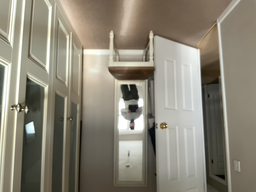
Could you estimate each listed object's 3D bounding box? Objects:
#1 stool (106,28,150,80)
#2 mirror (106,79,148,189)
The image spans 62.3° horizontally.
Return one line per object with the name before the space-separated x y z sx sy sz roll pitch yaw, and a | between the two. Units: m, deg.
stool | 0.010 -0.480 2.540 0.480 0.470 0.440 -1 171 3
mirror | 0.000 0.460 2.730 0.470 1.340 0.140 3 168 -2
